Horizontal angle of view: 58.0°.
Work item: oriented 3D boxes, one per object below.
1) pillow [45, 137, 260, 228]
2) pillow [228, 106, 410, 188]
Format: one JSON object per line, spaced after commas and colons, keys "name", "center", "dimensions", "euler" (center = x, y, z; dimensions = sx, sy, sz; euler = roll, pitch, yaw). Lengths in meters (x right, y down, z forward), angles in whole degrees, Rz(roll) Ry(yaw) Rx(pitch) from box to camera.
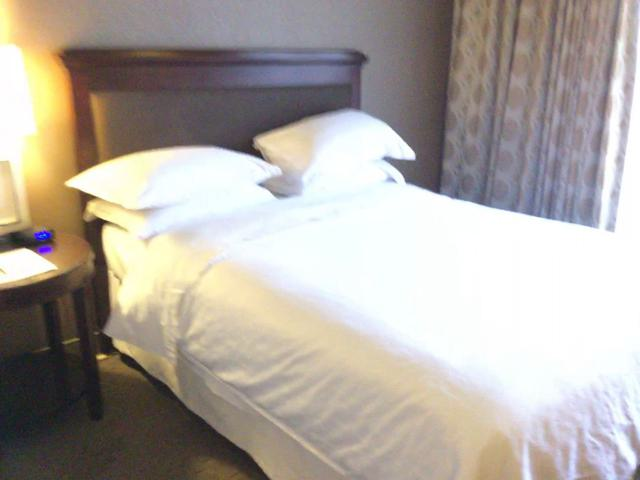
{"name": "pillow", "center": [-0.720, -0.280, 2.520], "dimensions": [0.720, 0.210, 0.540], "euler": [-16, 22, -37]}
{"name": "pillow", "center": [0.010, -0.510, 3.000], "dimensions": [0.790, 0.280, 0.510], "euler": [-16, 22, -37]}
